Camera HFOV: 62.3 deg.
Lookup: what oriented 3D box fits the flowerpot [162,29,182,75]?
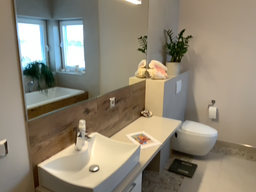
[{"bbox_3d":[0.600,-0.600,2.890,0.170,0.590,0.270,8,16,24],"label":"flowerpot"}]
